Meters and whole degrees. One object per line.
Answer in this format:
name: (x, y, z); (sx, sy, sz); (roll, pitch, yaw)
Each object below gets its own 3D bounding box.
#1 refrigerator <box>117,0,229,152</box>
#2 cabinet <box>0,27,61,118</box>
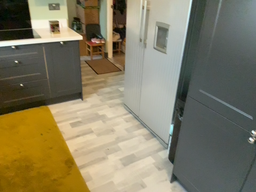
refrigerator: (0.320, -0.480, 2.140); (0.360, 1.760, 1.030); (-13, 33, -29)
cabinet: (-1.660, -0.250, 2.460); (1.480, 0.850, 0.660); (-17, 35, -33)
